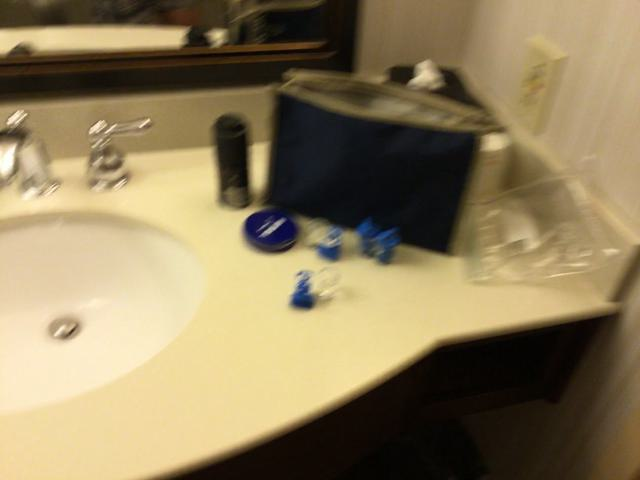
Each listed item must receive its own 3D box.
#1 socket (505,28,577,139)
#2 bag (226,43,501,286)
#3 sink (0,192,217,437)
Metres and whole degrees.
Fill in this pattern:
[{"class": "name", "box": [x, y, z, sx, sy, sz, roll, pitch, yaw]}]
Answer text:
[{"class": "socket", "box": [0.320, -0.230, 0.850, 0.010, 0.130, 0.100, -8, 39, -16]}, {"class": "bag", "box": [0.060, -0.120, 0.820, 0.310, 0.200, 0.210, 17, 39, 16]}, {"class": "sink", "box": [-0.380, 0.100, 0.790, 0.430, 0.180, 0.240, -8, 39, -16]}]
